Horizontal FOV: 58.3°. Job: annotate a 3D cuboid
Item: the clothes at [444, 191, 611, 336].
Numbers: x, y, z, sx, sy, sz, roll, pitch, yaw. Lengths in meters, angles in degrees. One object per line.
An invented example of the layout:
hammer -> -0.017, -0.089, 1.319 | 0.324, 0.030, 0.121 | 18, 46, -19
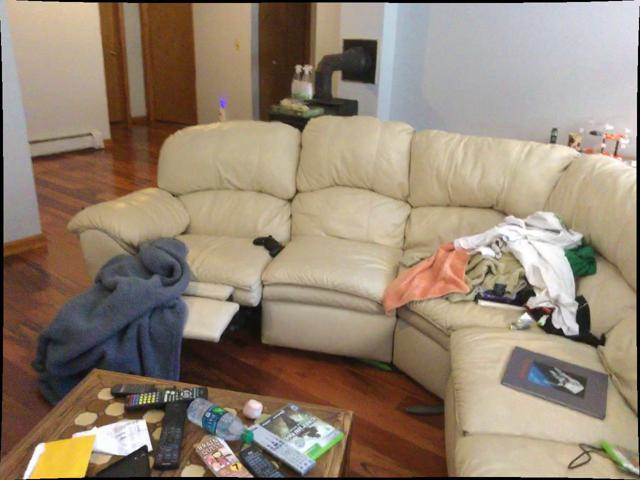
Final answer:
clothes -> 0.829, 0.060, 2.280 | 0.450, 0.320, 0.530 | 16, 25, 31

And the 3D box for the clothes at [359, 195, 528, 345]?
clothes -> 0.540, 0.090, 2.460 | 0.460, 0.350, 0.640 | 16, 25, 31

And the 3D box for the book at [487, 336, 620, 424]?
book -> 0.709, 0.410, 1.740 | 0.320, 0.030, 0.270 | 16, 25, 31

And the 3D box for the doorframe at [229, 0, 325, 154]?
doorframe -> -0.520, -2.112, 6.620 | 1.059, 2.042, 0.370 | 16, 25, 31
